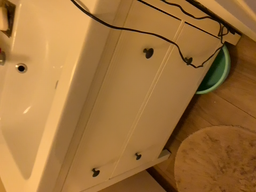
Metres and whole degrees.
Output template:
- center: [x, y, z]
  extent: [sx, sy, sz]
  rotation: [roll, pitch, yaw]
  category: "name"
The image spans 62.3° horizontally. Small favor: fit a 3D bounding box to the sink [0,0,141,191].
- center: [-0.310, -0.040, 0.680]
  extent: [0.490, 0.140, 0.840]
  rotation: [40, 116, 34]
  category: "sink"
